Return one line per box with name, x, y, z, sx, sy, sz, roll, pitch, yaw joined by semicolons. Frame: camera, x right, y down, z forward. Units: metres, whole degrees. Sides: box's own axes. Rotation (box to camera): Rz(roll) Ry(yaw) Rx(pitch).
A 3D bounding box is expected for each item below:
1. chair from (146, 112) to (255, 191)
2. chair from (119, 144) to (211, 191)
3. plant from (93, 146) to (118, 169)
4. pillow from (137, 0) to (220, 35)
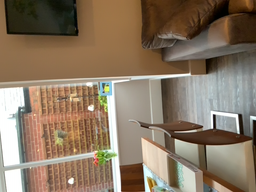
chair;0.690;0.460;1.580;0.510;0.950;0.520;-172;77;-72
chair;0.430;0.930;2.570;0.510;0.940;0.420;-168;74;-72
plant;-0.360;0.970;3.370;0.180;0.340;0.250;-165;70;-72
pillow;0.420;-0.690;1.620;0.590;0.500;0.250;-48;-50;-55
